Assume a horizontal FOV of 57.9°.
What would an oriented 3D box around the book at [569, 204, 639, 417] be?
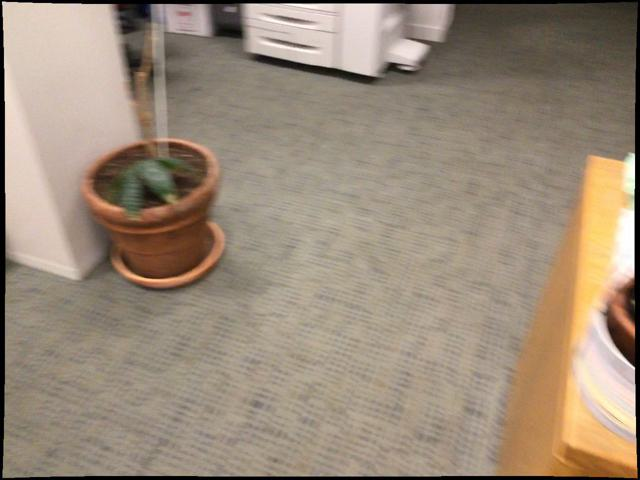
[{"bbox_3d":[0.480,0.100,0.820,0.190,0.120,0.290,14,43,17],"label":"book"}]
